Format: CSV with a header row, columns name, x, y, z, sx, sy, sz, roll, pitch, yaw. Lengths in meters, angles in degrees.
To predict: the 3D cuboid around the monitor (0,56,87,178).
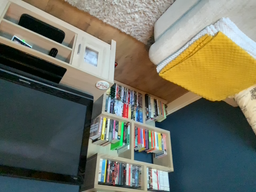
name,x,y,z,sx,sy,sz,roll,pitch,yaw
monitor,-0.710,0.090,1.300,0.900,0.670,0.050,21,143,-30
